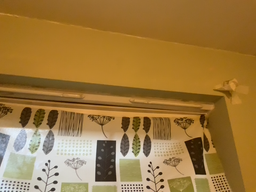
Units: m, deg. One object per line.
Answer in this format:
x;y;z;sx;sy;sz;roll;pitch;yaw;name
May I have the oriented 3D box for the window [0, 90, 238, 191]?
-0.060;0.410;0.880;1.180;0.840;0.060;4;-24;-15;window
